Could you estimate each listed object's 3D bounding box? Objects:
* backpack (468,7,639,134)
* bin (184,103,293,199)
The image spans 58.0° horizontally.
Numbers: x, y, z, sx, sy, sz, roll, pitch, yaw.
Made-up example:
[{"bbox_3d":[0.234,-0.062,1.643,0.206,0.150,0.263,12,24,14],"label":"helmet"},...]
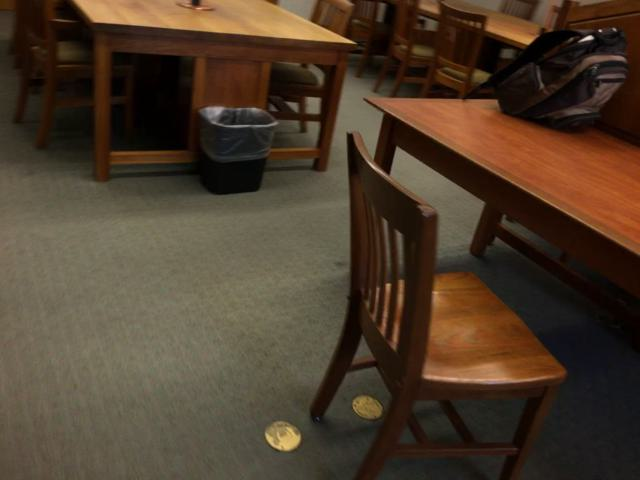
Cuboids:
[{"bbox_3d":[0.930,-0.660,2.220,0.410,0.370,0.500,-8,28,-30],"label":"backpack"},{"bbox_3d":[-0.430,-0.470,2.970,0.430,0.380,0.370,-8,28,-30],"label":"bin"}]
